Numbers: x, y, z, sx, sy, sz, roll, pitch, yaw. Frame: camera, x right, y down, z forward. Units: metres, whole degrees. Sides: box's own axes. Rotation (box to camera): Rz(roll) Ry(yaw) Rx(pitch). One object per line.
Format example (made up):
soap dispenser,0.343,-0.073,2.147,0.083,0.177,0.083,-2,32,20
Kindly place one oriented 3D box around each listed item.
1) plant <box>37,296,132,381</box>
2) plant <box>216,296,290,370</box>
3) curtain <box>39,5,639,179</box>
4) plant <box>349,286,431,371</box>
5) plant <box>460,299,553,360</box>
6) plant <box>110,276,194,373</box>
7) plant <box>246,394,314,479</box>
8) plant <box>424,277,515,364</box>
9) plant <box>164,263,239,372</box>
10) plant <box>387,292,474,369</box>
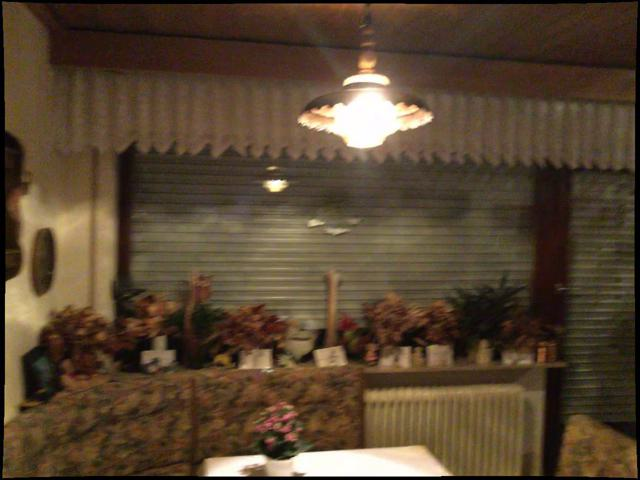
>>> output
plant,-1.079,0.440,2.700,0.310,0.290,0.480,1,3,-9
plant,-0.360,0.480,3.050,0.360,0.320,0.320,1,3,-9
curtain,0.769,-0.671,2.980,4.056,0.611,0.360,1,3,-9
plant,0.370,0.470,3.160,0.350,0.390,0.360,1,3,-9
plant,1.049,0.501,3.290,0.390,0.280,0.320,1,3,-9
plant,-0.849,0.420,2.970,0.370,0.430,0.350,1,3,-9
plant,-0.140,0.671,1.960,0.210,0.240,0.180,1,3,-9
plant,0.829,0.440,3.250,0.370,0.420,0.350,1,3,-9
plant,-0.609,0.390,3.010,0.360,0.511,0.310,1,3,-9
plant,0.599,0.490,3.200,0.370,0.360,0.330,1,3,-9
